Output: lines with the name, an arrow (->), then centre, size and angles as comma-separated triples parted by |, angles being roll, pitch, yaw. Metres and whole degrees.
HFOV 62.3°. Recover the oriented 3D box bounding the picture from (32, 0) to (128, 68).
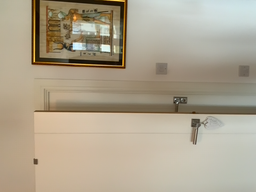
picture -> -0.330, -0.450, 1.510 | 0.050, 0.650, 0.480 | -136, 48, -81
